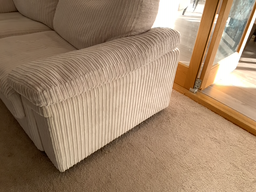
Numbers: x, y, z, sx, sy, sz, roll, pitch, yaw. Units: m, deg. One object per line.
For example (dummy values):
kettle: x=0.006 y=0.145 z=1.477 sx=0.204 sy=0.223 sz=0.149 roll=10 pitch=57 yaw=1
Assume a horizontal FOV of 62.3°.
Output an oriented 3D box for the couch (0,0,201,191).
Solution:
couch: x=-0.720 y=-0.520 z=1.700 sx=1.060 sy=0.890 sz=2.100 roll=-26 pitch=47 yaw=-35
